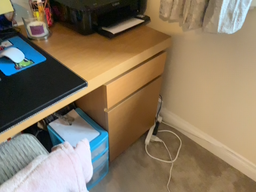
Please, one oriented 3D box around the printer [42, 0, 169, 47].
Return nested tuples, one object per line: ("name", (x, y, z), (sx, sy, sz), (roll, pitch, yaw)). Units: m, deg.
("printer", (-0.130, -0.510, 1.080), (0.420, 0.210, 0.530), (-30, 51, -31))
